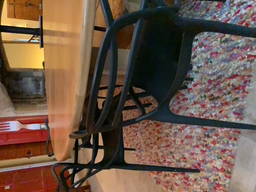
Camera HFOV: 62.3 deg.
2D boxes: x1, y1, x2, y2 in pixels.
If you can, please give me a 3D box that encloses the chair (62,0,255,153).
[{"bbox_3d":[0.180,-0.150,0.880,0.490,0.800,0.430,-121,38,-48],"label":"chair"}]
